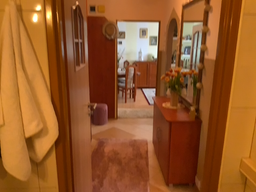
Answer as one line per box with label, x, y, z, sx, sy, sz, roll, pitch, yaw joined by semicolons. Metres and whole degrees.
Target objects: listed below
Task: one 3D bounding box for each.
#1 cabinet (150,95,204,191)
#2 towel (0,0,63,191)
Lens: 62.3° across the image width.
cabinet;0.570;0.520;2.820;0.360;0.810;1.160;0;14;-2
towel;-0.420;0.030;0.830;0.240;0.850;0.140;1;14;-1
